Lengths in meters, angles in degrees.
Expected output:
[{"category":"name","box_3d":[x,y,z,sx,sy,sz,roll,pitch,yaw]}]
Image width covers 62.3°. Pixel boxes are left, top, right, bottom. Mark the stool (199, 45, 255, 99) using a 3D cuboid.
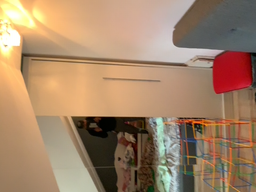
[{"category":"stool","box_3d":[1.030,-0.190,2.020,0.620,0.420,0.350,142,129,-77]}]
